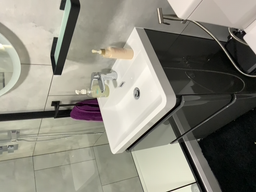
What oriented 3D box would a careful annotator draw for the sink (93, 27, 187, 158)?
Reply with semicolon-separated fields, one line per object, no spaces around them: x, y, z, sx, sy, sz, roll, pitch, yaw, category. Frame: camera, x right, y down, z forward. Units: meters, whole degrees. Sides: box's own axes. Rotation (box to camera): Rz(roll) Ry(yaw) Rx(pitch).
0.000;0.020;1.140;0.620;0.100;0.410;-52;49;46;sink
